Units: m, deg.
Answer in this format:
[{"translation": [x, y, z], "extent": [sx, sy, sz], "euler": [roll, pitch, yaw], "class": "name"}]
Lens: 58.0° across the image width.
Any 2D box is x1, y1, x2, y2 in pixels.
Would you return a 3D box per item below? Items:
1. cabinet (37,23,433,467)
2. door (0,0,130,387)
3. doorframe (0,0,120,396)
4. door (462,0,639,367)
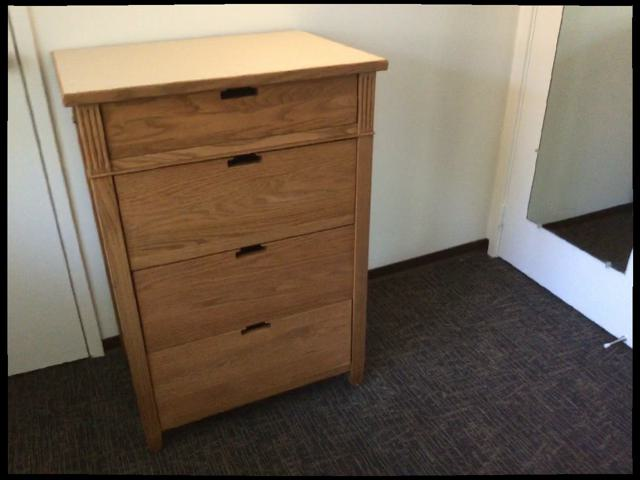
[{"translation": [-0.260, -0.040, 1.830], "extent": [0.919, 1.082, 0.620], "euler": [-13, 32, -21], "class": "cabinet"}, {"translation": [-1.098, -0.100, 1.670], "extent": [0.849, 1.322, 0.100], "euler": [-13, 32, -21], "class": "door"}, {"translation": [-1.098, -0.080, 1.690], "extent": [0.759, 1.382, 0.070], "euler": [-13, 32, -21], "class": "doorframe"}, {"translation": [0.978, -0.631, 1.980], "extent": [0.200, 1.973, 0.930], "euler": [-13, 32, -21], "class": "door"}]
